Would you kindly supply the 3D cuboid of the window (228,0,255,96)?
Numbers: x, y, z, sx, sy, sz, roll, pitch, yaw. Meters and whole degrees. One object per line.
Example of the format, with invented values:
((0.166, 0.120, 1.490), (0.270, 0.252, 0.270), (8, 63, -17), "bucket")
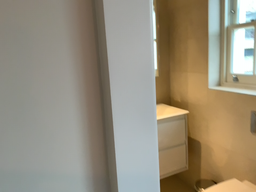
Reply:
((1.000, -0.480, 1.620), (0.050, 0.960, 0.510), (-9, 12, -21), "window")
